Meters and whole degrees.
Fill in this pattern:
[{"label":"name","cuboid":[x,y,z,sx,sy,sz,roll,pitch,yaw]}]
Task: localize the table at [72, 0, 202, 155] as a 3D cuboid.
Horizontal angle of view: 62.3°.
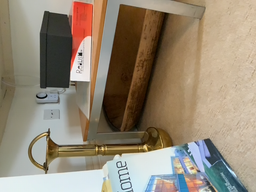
[{"label":"table","cuboid":[-0.060,-0.180,1.060,0.610,0.340,0.650,-117,34,-53]}]
